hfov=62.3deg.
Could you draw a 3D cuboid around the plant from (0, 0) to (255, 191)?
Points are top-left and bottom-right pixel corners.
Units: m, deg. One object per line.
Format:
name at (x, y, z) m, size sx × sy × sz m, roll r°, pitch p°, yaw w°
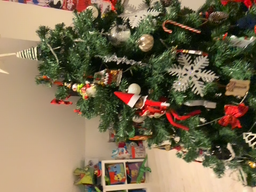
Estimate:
plant at (0.400, 0.000, 1.090) m, size 1.130 × 1.710 × 1.110 m, roll 162°, pitch 110°, yaw -71°
